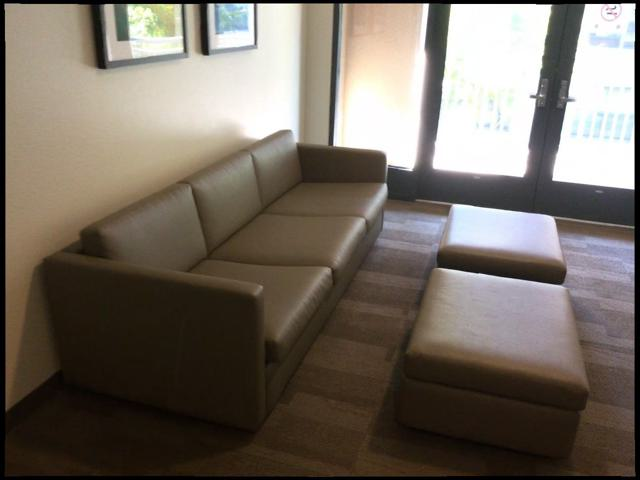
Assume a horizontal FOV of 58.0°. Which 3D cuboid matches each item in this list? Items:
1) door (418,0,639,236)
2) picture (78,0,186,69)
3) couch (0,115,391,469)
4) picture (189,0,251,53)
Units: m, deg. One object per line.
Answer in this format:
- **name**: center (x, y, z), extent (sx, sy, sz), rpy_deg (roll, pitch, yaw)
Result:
- **door**: center (1.746, -1.253, 4.130), extent (1.767, 2.284, 0.330), rpy_deg (9, 24, 12)
- **picture**: center (-0.798, -1.042, 2.500), extent (0.090, 0.501, 0.660), rpy_deg (7, 24, 14)
- **couch**: center (-0.329, -0.030, 2.990), extent (0.998, 0.711, 2.270), rpy_deg (9, 25, 12)
- **picture**: center (-0.539, -1.343, 3.210), extent (0.080, 0.511, 0.660), rpy_deg (9, 25, 12)
